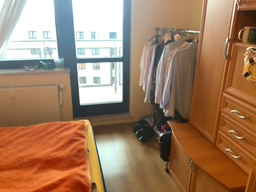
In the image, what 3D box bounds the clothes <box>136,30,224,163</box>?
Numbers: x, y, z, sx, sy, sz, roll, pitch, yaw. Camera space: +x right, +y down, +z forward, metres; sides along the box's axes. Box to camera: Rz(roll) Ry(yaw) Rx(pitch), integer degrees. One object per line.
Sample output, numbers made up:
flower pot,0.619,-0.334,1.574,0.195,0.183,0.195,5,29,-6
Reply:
clothes,0.500,-0.100,2.610,0.490,1.300,1.120,-5,21,-14
